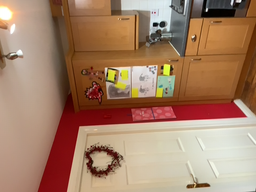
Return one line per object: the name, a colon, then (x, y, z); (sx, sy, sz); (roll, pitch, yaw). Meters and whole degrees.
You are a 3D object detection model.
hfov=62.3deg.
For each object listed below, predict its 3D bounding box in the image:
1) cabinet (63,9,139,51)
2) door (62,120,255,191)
cabinet: (-0.300, -0.800, 2.550); (0.330, 0.830, 0.390); (-100, 8, -59)
door: (0.500, 0.580, 2.040); (0.850, 2.120, 0.050); (-99, 7, -58)
